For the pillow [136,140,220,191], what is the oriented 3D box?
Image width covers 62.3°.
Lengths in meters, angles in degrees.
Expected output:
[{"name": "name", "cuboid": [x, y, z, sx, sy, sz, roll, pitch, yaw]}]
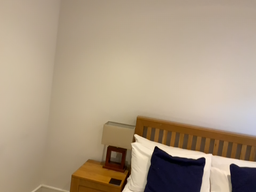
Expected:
[{"name": "pillow", "cuboid": [0.370, 0.640, 1.640, 0.480, 0.390, 0.110, 32, 13, 1]}]

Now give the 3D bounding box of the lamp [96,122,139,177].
[{"name": "lamp", "cuboid": [-0.100, 0.530, 2.160, 0.340, 0.440, 0.210, 10, 6, 9]}]
